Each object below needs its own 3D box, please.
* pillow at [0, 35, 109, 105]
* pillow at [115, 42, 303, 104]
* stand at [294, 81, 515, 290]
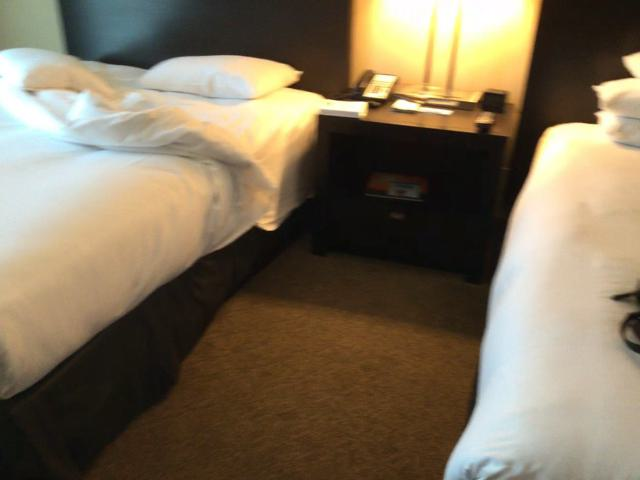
[{"bbox_3d":[-1.240,-0.750,2.490,0.370,0.190,0.650,-21,31,-36],"label":"pillow"},{"bbox_3d":[-0.490,-0.780,2.650,0.710,0.190,0.430,7,26,19],"label":"pillow"},{"bbox_3d":[0.380,-0.280,2.550,0.810,0.710,0.550,7,26,19],"label":"stand"}]
